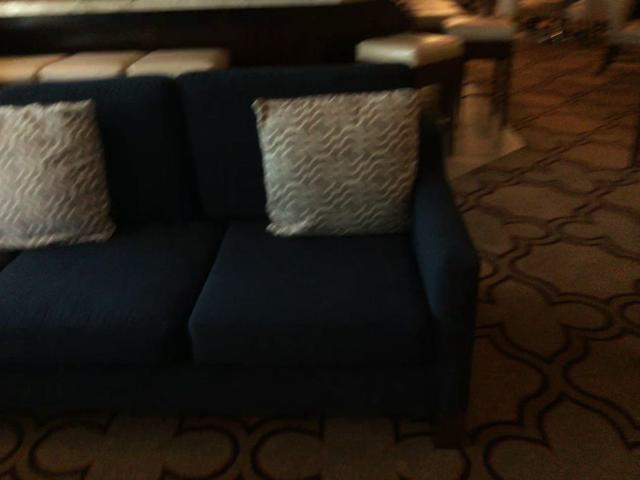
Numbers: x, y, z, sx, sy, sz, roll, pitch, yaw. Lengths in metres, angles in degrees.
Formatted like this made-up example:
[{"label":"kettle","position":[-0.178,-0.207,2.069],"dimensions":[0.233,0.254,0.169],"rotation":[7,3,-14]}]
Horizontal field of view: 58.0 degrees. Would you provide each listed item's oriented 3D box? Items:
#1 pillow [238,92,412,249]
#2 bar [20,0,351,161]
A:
[{"label":"pillow","position":[0.020,-0.220,1.840],"dimensions":[0.500,0.440,0.190],"rotation":[-2,25,-1]},{"label":"bar","position":[-0.770,-1.010,3.650],"dimensions":[1.910,0.910,0.240],"rotation":[-2,25,-1]}]
